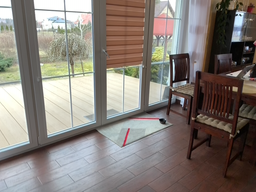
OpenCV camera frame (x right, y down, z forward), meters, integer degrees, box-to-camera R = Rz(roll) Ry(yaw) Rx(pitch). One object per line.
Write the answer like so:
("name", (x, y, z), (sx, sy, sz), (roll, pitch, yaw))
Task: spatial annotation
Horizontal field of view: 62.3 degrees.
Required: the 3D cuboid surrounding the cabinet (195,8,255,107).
("cabinet", (2.050, -0.800, 4.300), (1.350, 1.720, 0.470), (-14, 24, -40))
